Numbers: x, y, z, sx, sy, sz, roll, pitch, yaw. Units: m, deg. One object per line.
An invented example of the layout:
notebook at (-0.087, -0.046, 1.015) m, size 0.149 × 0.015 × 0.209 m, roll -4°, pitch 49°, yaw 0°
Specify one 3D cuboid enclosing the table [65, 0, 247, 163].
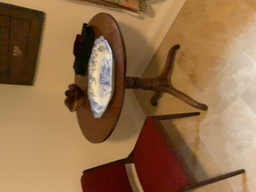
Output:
table at (0.080, -0.130, 1.530) m, size 0.800 × 0.760 × 0.800 m, roll -59°, pitch 42°, yaw 38°
